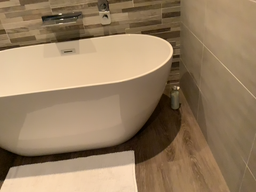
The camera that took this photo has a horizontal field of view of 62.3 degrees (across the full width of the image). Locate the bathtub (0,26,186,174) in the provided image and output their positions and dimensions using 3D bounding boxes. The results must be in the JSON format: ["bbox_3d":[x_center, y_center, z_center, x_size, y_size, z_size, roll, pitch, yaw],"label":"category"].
[{"bbox_3d":[-0.450,-0.010,1.510,1.490,0.570,0.800,-6,34,2],"label":"bathtub"}]
